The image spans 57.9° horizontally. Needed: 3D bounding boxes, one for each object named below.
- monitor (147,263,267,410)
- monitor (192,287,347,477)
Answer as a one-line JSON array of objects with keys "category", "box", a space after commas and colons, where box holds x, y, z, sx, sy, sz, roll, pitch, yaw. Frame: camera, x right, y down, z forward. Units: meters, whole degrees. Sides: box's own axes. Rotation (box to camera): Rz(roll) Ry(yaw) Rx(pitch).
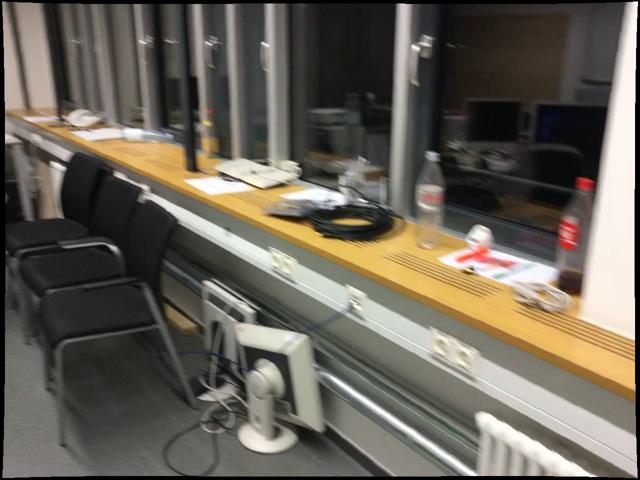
[{"category": "monitor", "box": [-0.529, 0.420, 2.680, 0.300, 0.430, 0.530, -17, 25, -32]}, {"category": "monitor", "box": [-0.210, 0.531, 2.310, 0.340, 0.440, 0.570, -17, 25, -32]}]
